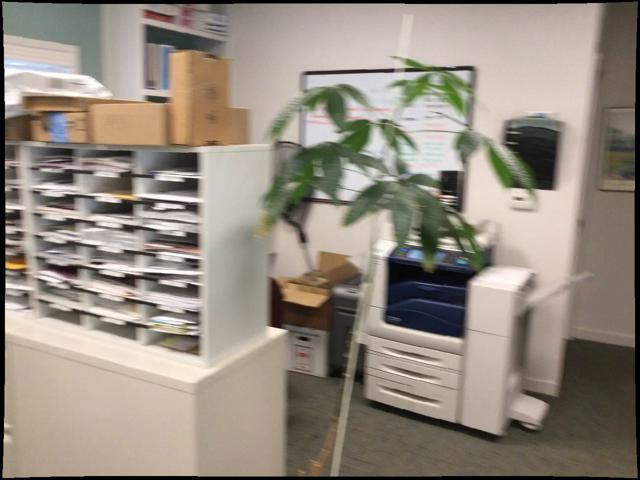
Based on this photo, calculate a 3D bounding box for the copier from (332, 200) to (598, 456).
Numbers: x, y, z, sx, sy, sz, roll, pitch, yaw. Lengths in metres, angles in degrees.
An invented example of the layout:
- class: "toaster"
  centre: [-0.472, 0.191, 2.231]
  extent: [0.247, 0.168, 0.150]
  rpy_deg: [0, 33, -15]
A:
- class: "copier"
  centre: [0.799, 0.390, 3.280]
  extent: [1.279, 1.091, 0.690]
  rpy_deg: [6, 12, 28]

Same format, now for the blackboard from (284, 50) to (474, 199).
- class: "blackboard"
  centre: [0.330, -0.741, 3.770]
  extent: [1.289, 0.871, 0.060]
  rpy_deg: [6, 12, 28]

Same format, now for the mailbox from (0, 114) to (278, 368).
- class: "mailbox"
  centre: [-0.869, -0.080, 1.970]
  extent: [1.509, 0.661, 0.320]
  rpy_deg: [6, 12, 28]
